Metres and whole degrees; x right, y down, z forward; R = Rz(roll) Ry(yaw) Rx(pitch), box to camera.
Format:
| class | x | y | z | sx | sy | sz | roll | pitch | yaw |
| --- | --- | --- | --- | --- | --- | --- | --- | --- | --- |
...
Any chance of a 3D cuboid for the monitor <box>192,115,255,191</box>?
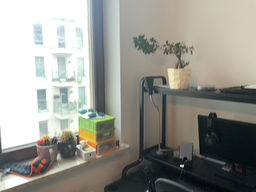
| class | x | y | z | sx | sy | sz | roll | pitch | yaw |
| --- | --- | --- | --- | --- | --- | --- | --- | --- | --- |
| monitor | 0.650 | 0.350 | 1.370 | 0.470 | 0.380 | 0.060 | 8 | 11 | 44 |
